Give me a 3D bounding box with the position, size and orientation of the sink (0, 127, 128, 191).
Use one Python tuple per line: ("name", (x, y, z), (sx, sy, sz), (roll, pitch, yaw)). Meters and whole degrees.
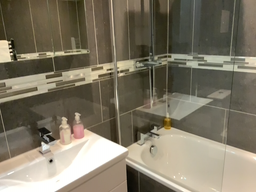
("sink", (-0.360, 0.380, 1.060), (0.390, 0.150, 0.630), (14, 23, 43))
